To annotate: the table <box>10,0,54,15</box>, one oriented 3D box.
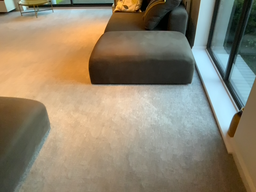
[{"bbox_3d":[-2.200,-2.120,4.930,0.690,0.280,0.700,0,36,1],"label":"table"}]
